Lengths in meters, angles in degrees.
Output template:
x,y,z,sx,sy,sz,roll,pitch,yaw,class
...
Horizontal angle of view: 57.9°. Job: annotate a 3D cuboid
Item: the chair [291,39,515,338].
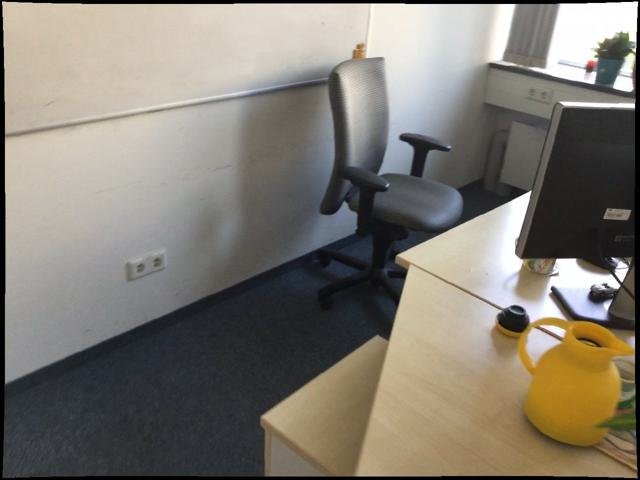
x,y,z,sx,sy,sz,roll,pitch,yaw,class
0.330,-0.260,2.480,0.620,0.981,0.680,20,34,27,chair
